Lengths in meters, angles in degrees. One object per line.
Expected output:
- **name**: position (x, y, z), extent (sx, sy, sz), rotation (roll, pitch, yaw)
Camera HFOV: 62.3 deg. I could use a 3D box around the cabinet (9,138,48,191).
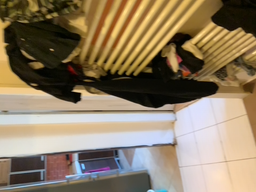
- **cabinet**: position (-1.820, 1.370, 3.930), extent (0.310, 0.620, 1.090), rotation (141, 126, -60)
